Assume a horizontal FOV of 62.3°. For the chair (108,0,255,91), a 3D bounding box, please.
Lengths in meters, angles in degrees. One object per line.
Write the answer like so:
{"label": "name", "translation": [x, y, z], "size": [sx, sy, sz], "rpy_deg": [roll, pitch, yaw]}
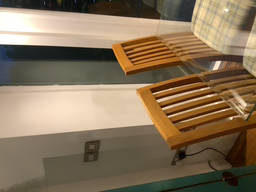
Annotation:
{"label": "chair", "translation": [0.450, -0.430, 1.240], "size": [0.510, 0.980, 0.600], "rpy_deg": [-118, 32, -52]}
